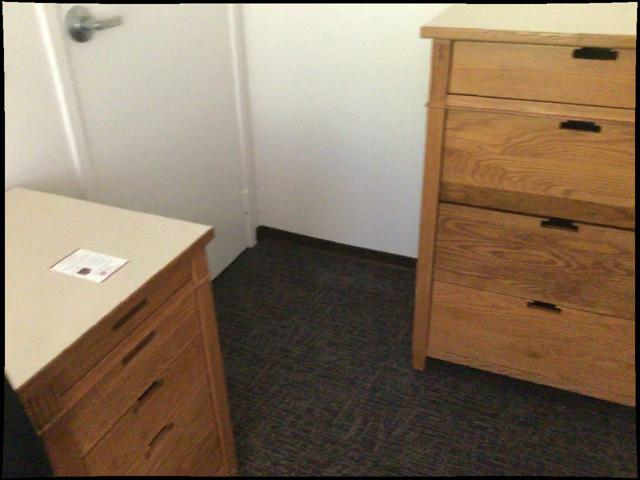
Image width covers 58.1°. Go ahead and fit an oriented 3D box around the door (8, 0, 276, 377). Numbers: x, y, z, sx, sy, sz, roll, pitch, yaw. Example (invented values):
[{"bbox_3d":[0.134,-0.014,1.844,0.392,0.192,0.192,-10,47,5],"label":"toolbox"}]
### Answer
[{"bbox_3d":[-0.469,-0.341,1.980,0.070,1.292,0.980,11,34,22],"label":"door"}]
